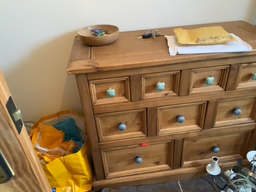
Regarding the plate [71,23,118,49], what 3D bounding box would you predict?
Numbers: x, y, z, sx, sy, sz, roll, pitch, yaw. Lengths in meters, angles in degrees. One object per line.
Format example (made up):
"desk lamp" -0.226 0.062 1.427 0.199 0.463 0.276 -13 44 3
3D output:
"plate" -0.170 -0.320 1.100 0.210 0.040 0.260 -6 33 -4
